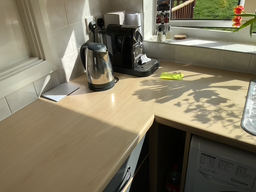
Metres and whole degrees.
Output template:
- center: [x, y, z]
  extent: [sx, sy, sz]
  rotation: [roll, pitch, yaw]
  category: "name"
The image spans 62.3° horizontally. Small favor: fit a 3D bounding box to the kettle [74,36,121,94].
- center: [-0.160, -0.170, 1.130]
  extent: [0.170, 0.230, 0.160]
  rotation: [-20, 36, -25]
  category: "kettle"
